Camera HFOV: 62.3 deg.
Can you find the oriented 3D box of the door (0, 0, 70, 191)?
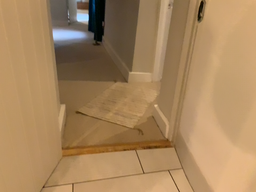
[{"bbox_3d":[-0.490,-0.250,0.700,0.090,2.000,0.830,8,27,9],"label":"door"}]
